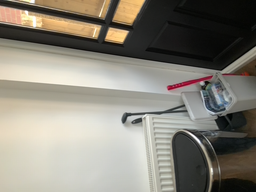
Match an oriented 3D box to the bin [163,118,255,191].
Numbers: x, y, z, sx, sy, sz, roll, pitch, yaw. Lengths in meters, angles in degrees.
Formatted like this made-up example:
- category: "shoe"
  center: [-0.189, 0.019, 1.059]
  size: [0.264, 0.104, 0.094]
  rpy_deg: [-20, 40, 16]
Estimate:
- category: "bin"
  center: [0.610, 0.390, 1.250]
  size: [0.310, 0.690, 0.420]
  rpy_deg: [135, 135, -58]
